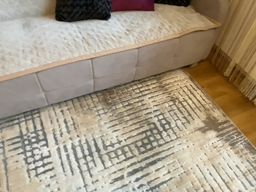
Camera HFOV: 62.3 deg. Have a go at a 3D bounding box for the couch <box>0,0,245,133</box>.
[{"bbox_3d":[-0.390,-0.630,1.510,2.080,0.930,1.060,-17,53,-18],"label":"couch"}]
